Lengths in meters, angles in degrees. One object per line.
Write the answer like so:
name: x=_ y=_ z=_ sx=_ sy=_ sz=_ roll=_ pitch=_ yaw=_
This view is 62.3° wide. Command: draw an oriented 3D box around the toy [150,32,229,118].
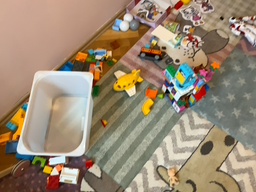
toy: x=0.310 y=-0.100 z=1.150 sx=0.250 sy=0.330 sz=0.250 roll=30 pitch=69 yaw=12
